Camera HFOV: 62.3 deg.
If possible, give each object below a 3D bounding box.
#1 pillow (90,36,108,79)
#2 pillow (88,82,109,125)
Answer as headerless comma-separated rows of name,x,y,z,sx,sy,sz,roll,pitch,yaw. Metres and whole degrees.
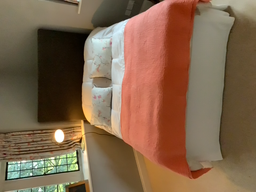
pillow,-0.400,-0.500,2.890,0.310,0.160,0.540,-170,80,-66
pillow,-0.410,0.090,2.890,0.320,0.200,0.550,-170,80,-66
